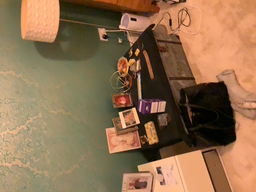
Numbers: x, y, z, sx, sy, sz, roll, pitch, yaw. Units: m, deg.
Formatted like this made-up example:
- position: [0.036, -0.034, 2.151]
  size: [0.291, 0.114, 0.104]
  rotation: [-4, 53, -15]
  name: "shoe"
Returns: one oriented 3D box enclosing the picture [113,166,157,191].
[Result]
- position: [0.050, 0.670, 1.610]
  size: [0.190, 0.230, 0.190]
  rotation: [-41, 58, 52]
  name: "picture"
